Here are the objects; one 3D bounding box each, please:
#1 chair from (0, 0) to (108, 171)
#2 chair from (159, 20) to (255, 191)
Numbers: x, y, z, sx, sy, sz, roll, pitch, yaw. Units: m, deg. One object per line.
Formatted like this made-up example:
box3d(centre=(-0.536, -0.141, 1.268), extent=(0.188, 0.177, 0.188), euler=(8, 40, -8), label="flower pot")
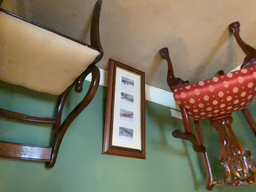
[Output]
box3d(centre=(-0.480, -0.150, 1.100), extent=(0.510, 0.870, 0.550), euler=(17, 139, -30), label="chair")
box3d(centre=(0.720, 0.140, 1.640), extent=(0.610, 0.960, 0.810), euler=(-17, 144, 14), label="chair")
